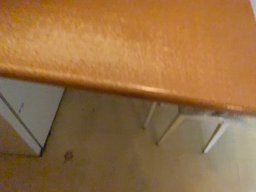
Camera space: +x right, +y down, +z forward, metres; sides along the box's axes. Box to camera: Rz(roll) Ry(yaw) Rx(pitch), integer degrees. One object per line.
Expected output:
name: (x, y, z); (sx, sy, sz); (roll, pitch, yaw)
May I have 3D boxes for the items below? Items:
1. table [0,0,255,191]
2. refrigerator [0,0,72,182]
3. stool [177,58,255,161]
table: (-0.030, 0.010, 0.990); (0.740, 0.870, 0.670); (8, 58, -2)
refrigerator: (-0.710, -0.080, 0.970); (0.640, 0.870, 0.670); (8, 58, -2)
stool: (0.460, 0.110, 1.130); (0.230, 0.550, 0.290); (10, 58, -1)
